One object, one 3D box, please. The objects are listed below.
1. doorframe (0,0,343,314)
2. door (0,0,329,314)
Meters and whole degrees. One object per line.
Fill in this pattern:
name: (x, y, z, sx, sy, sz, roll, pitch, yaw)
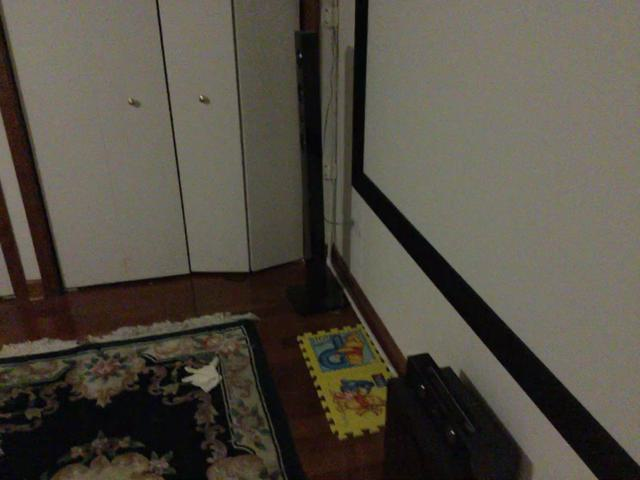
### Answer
doorframe: (-0.650, -0.540, 2.430, 1.420, 1.690, 0.230, -4, 26, -16)
door: (-0.630, -0.490, 2.440, 1.280, 1.650, 0.150, -4, 26, -16)
